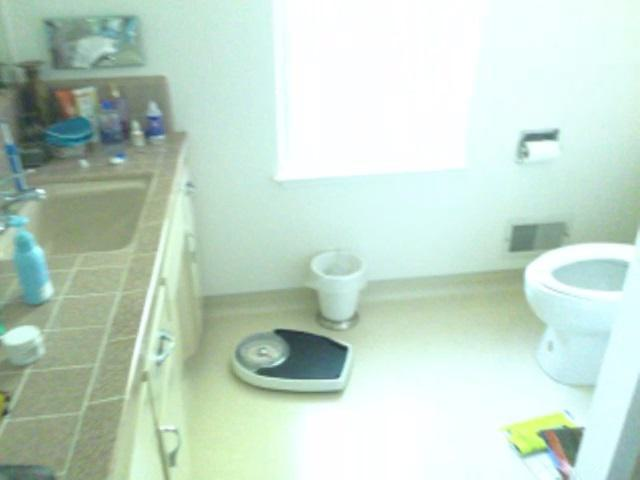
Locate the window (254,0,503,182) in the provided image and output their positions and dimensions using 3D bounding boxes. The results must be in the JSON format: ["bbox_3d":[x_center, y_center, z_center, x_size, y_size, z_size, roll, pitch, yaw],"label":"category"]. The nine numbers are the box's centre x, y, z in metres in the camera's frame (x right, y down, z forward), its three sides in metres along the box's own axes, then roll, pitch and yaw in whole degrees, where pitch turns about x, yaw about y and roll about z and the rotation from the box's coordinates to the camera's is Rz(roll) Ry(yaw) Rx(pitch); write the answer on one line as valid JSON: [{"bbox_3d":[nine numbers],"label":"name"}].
[{"bbox_3d":[0.180,-0.960,1.890,0.810,1.500,0.220,-4,27,-3],"label":"window"}]

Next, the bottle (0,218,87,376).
[{"bbox_3d":[-0.560,0.110,1.110,0.130,0.270,0.120,-4,27,-3],"label":"bottle"}]

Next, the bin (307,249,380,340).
[{"bbox_3d":[0.090,0.210,2.270,0.250,0.250,0.240,-4,27,-3],"label":"bin"}]
